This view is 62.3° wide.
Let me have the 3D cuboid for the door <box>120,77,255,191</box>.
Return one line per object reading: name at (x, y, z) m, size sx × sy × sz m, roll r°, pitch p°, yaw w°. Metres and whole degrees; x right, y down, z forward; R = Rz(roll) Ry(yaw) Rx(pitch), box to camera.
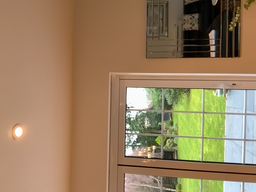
door at (0.930, 0.900, 2.000) m, size 0.110 × 2.010 × 2.130 m, roll -1°, pitch -88°, yaw -83°
